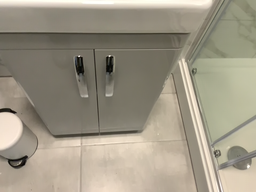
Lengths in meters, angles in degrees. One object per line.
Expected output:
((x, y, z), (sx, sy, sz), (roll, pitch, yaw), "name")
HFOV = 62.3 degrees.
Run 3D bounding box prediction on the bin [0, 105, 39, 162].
((-0.540, 0.180, 0.980), (0.160, 0.260, 0.180), (-1, 62, -7), "bin")
